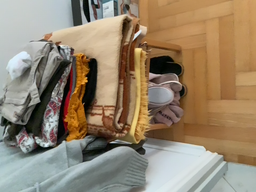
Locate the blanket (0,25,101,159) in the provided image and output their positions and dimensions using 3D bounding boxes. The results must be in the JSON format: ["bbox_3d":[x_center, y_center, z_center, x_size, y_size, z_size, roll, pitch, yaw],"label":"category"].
[{"bbox_3d":[-0.320,-0.030,0.790,0.330,0.280,0.370,7,98,37],"label":"blanket"}]

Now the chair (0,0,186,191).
[{"bbox_3d":[-0.190,-0.030,0.900,0.490,1.010,0.550,2,95,38],"label":"chair"}]
